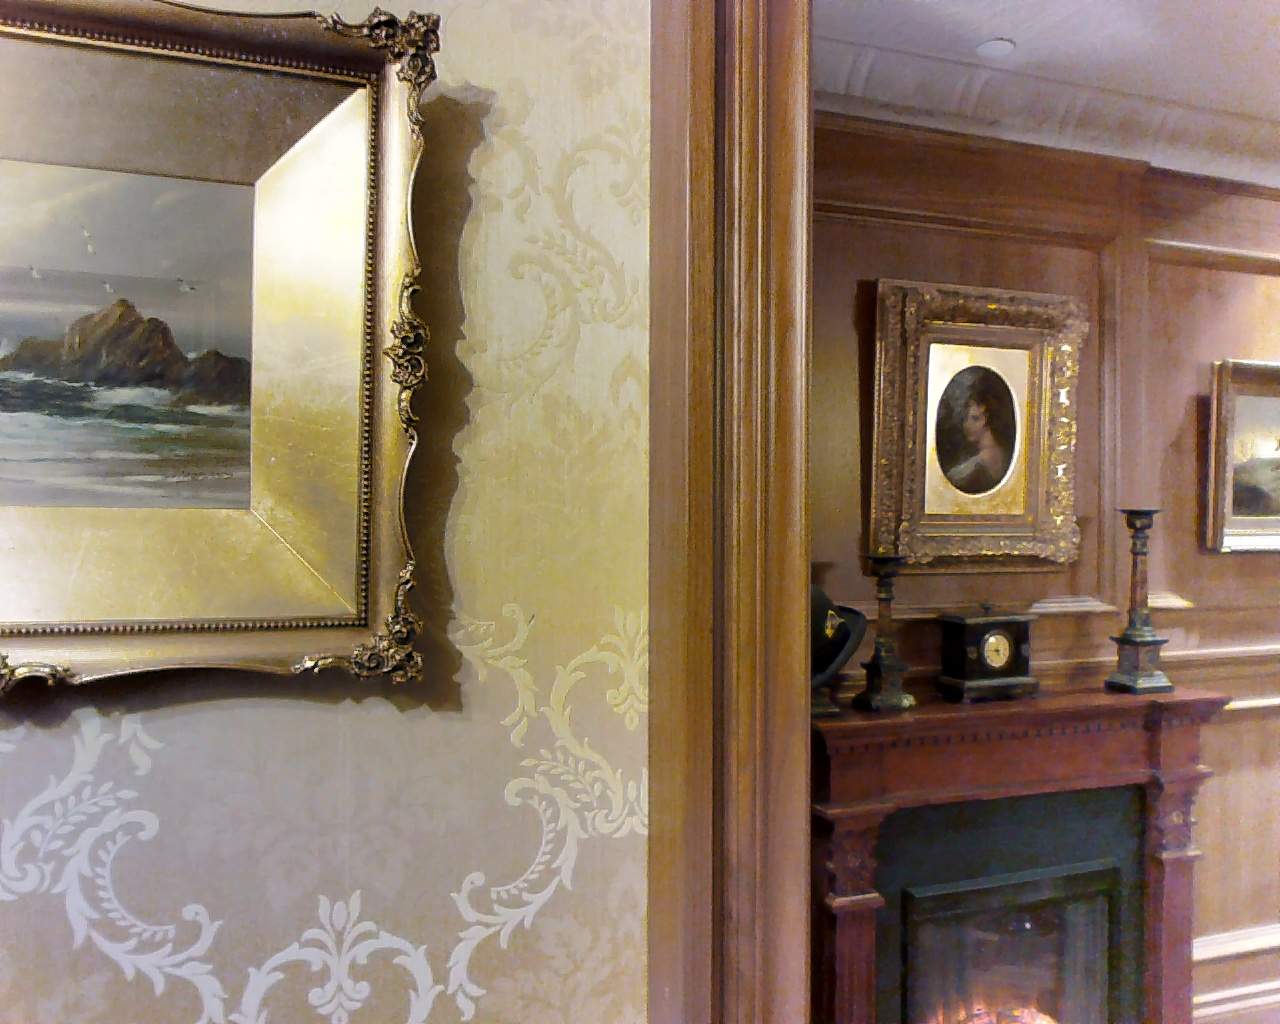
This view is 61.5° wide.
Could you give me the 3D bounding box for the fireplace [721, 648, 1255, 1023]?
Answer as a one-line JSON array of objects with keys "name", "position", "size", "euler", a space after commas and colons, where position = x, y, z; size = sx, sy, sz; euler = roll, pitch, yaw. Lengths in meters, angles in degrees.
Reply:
[{"name": "fireplace", "position": [0.780, 0.890, 2.390], "size": [1.150, 1.090, 0.350], "euler": [0, 0, -20]}]
